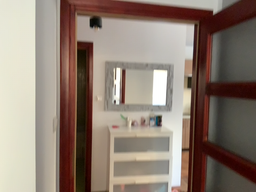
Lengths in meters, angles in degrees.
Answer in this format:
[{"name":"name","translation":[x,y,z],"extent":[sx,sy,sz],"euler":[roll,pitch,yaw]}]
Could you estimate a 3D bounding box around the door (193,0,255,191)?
[{"name":"door","translation":[0.560,0.580,1.090],"extent":[0.110,2.140,0.760],"euler":[1,4,-8]}]
